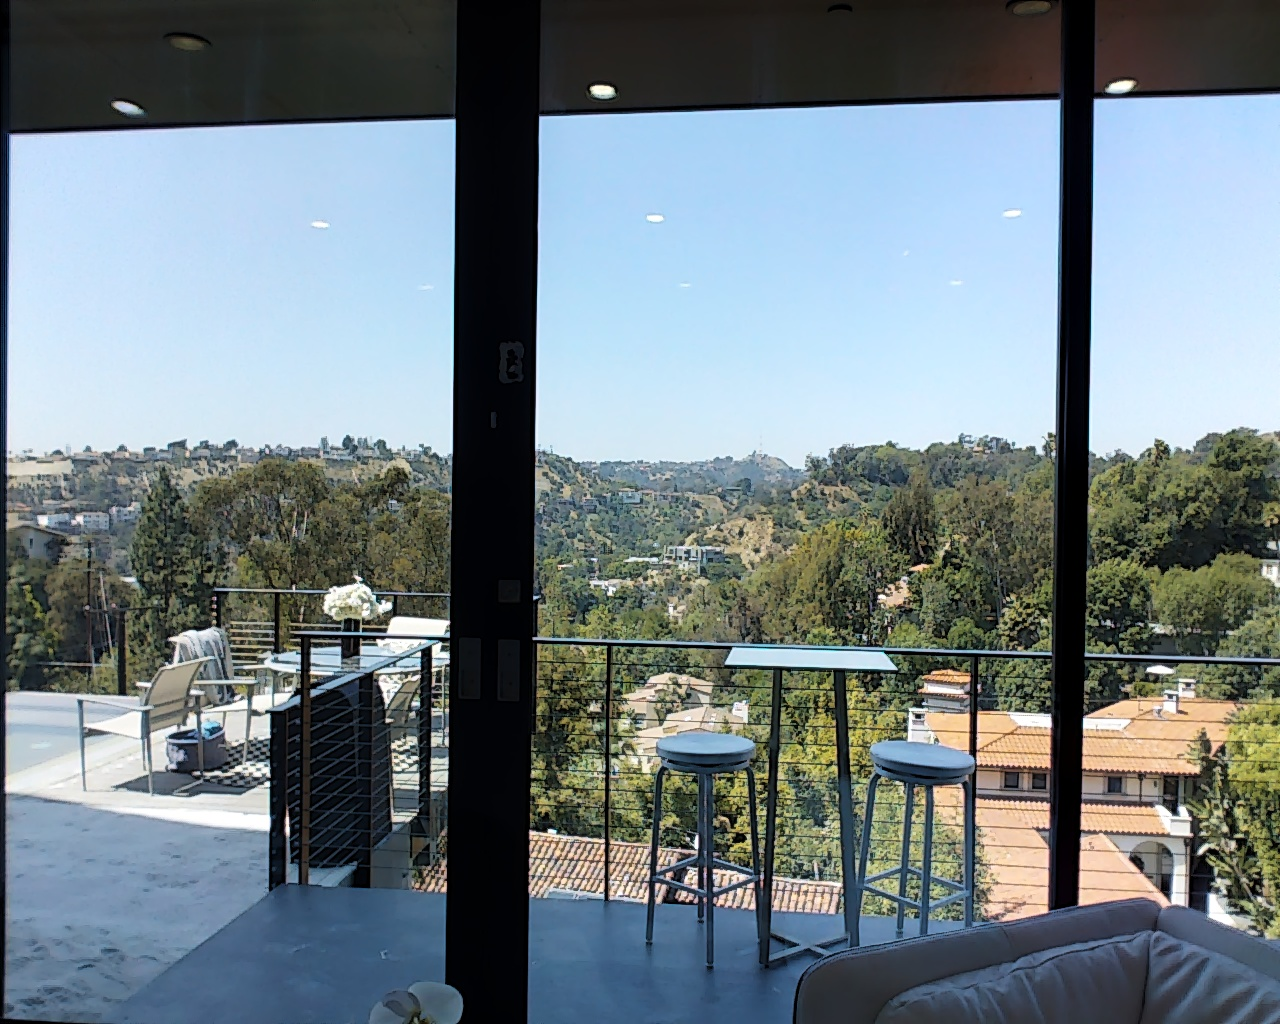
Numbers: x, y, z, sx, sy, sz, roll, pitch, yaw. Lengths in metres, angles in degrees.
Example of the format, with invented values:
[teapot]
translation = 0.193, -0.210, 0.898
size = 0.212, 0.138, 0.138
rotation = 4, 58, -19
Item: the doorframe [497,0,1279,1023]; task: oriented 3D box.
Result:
[doorframe]
translation = 1.000, 0.070, 2.860
size = 2.650, 3.060, 0.530
rotation = 1, 1, 7
